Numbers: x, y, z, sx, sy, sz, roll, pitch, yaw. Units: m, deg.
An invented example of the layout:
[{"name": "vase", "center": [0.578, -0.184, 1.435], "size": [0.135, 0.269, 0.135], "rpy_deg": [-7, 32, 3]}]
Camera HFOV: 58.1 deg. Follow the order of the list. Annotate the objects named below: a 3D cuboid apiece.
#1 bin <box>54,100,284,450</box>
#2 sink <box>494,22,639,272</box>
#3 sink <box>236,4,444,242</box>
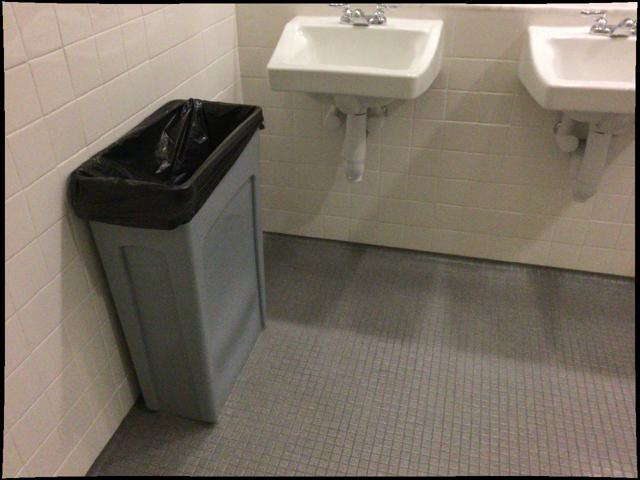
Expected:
[{"name": "bin", "center": [-0.349, 0.080, 1.640], "size": [0.289, 0.771, 0.580], "rpy_deg": [7, 33, 13]}, {"name": "sink", "center": [0.848, -0.291, 1.730], "size": [0.549, 0.591, 0.450], "rpy_deg": [7, 33, 13]}, {"name": "sink", "center": [0.090, -0.401, 1.890], "size": [0.539, 0.611, 0.450], "rpy_deg": [7, 33, 13]}]
